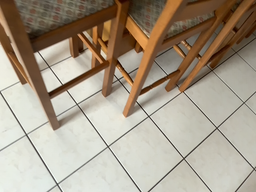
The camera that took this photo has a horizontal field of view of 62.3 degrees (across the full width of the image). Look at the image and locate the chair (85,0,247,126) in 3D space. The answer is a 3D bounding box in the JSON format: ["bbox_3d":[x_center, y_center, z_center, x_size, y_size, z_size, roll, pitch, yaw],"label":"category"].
[{"bbox_3d":[0.100,-0.300,0.950,0.400,0.980,0.430,-33,75,-24],"label":"chair"}]
